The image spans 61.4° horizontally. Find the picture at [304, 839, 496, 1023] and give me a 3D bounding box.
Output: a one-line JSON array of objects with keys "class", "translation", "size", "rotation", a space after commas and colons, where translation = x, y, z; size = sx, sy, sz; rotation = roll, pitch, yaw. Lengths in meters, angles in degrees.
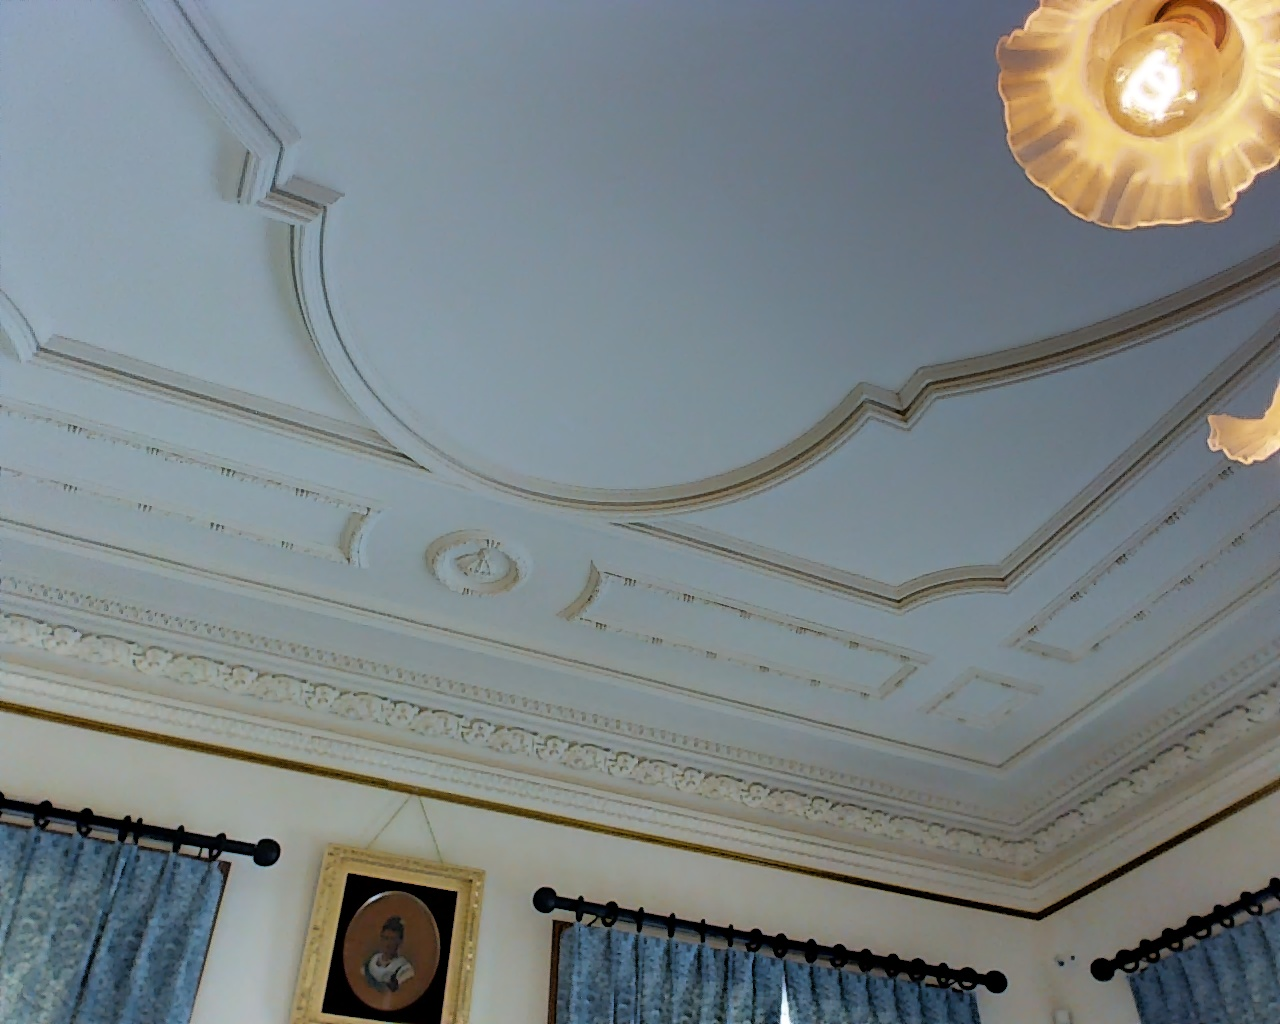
[{"class": "picture", "translation": [-0.960, 1.781, 4.410], "size": [0.670, 0.780, 0.070], "rotation": [16, -44, -16]}]
